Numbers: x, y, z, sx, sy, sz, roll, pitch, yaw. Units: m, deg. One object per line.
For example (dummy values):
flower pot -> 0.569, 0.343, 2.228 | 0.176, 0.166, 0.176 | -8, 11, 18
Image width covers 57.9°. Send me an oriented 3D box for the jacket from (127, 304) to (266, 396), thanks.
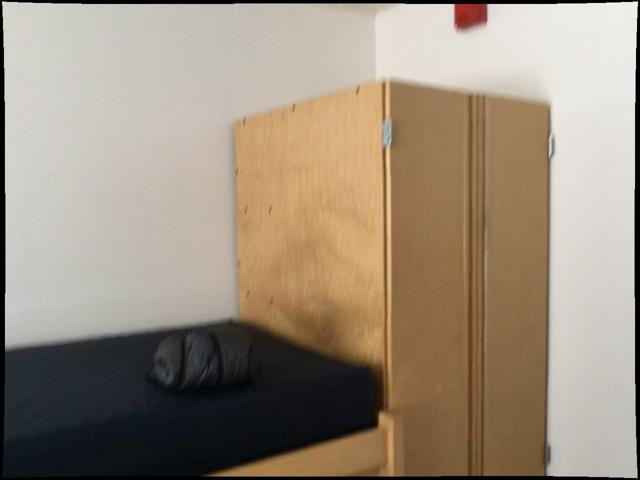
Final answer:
jacket -> -0.350, 0.280, 1.570 | 0.220, 0.130, 0.430 | -4, 5, -34
